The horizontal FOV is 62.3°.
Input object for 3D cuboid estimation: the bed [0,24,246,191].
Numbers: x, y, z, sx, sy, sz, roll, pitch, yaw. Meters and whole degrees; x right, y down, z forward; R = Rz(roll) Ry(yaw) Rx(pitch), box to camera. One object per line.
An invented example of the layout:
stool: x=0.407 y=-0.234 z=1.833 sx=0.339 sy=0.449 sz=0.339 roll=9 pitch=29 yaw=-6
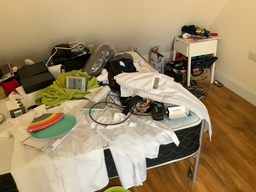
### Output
bed: x=-0.950 y=0.210 z=1.710 sx=2.240 sy=0.850 sz=2.320 roll=-11 pitch=32 yaw=-14

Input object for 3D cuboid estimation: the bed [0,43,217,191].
bed: x=-0.690 y=0.200 z=1.720 sx=2.010 sy=0.580 sz=1.560 roll=-11 pitch=32 yaw=-14

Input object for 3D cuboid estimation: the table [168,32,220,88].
table: x=0.830 y=-0.480 z=2.760 sx=0.430 sy=0.560 sz=0.410 roll=-13 pitch=32 yaw=-16
